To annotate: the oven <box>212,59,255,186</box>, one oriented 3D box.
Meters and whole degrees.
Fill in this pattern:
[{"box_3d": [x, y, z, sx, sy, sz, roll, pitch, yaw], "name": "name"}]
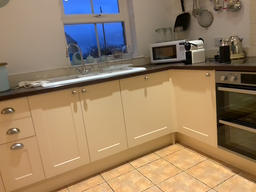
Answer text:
[{"box_3d": [1.150, 0.180, 1.770, 0.600, 0.910, 0.560, -13, 14, -27], "name": "oven"}]
